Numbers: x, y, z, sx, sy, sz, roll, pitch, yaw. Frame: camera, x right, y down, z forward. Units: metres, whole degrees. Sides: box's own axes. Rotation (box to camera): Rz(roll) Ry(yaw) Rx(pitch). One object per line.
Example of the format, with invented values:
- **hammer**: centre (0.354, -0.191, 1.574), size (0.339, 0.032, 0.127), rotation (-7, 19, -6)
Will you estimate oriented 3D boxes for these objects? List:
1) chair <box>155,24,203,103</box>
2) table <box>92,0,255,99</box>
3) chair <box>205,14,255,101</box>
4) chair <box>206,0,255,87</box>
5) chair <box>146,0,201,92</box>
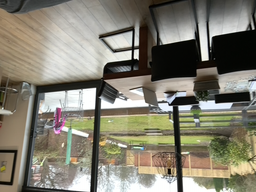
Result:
- **chair**: centre (0.720, -0.410, 2.960), size (0.550, 0.860, 0.590), rotation (-4, 164, 19)
- **table**: centre (0.800, -0.550, 2.610), size (2.200, 0.780, 1.030), rotation (-5, 164, 20)
- **chair**: centre (1.310, -0.450, 2.760), size (0.500, 0.870, 0.620), rotation (-4, 164, 19)
- **chair**: centre (1.120, -0.610, 2.180), size (0.520, 0.870, 0.600), rotation (-4, 164, 17)
- **chair**: centre (0.530, -0.550, 2.430), size (0.520, 0.870, 0.550), rotation (-4, 164, 17)
